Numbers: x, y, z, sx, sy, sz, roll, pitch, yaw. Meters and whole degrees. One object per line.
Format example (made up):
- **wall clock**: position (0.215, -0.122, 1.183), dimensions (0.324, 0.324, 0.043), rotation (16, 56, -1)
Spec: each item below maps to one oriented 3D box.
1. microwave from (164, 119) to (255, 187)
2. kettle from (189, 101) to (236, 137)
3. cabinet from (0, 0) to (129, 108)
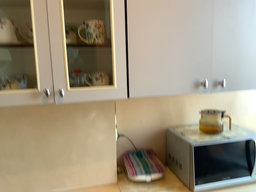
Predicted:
- **microwave**: position (0.530, 0.330, 1.350), dimensions (0.480, 0.240, 0.380), rotation (-3, 9, -12)
- **kettle**: position (0.510, 0.130, 1.310), dimensions (0.170, 0.160, 0.230), rotation (-3, 9, -10)
- **cabinet**: position (-0.340, -0.320, 0.920), dimensions (0.610, 0.670, 0.310), rotation (-4, 9, -14)
